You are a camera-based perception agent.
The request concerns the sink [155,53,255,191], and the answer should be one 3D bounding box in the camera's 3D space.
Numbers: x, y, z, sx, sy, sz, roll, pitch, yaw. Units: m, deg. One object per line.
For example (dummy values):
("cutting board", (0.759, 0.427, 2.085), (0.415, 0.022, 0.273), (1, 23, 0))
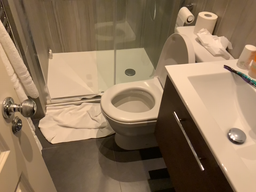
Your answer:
("sink", (0.400, 0.110, 0.760), (0.390, 0.150, 0.670), (-7, 45, -12))
